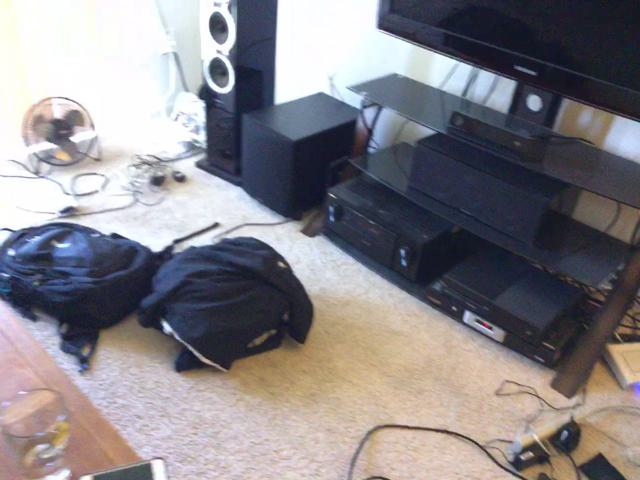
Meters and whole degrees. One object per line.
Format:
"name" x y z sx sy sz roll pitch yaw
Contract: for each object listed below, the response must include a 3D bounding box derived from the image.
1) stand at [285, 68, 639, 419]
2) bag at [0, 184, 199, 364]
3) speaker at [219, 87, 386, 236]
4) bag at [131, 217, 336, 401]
"stand" 0.500 -0.100 1.930 1.230 0.640 0.480 28 35 35
"bag" -0.750 0.070 1.830 0.550 0.240 0.460 18 30 22
"speaker" -0.080 -0.340 2.330 0.460 0.400 0.450 28 35 35
"bag" -0.250 0.170 1.690 0.380 0.260 0.430 28 35 36
